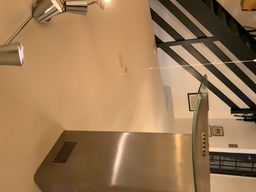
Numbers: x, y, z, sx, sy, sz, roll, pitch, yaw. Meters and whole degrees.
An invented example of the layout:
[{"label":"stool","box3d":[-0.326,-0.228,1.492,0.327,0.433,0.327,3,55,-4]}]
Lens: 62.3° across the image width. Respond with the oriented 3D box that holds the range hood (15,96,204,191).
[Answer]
[{"label":"range hood","box3d":[-0.010,0.380,1.040,0.510,0.720,0.540,65,30,-48]}]
